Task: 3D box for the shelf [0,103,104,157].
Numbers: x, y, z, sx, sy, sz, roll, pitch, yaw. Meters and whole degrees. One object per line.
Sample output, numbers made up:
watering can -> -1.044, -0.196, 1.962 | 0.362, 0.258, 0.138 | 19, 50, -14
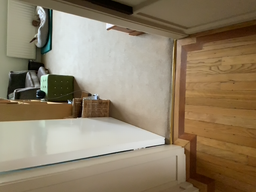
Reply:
shelf -> -1.180, 0.310, 2.640 | 1.550, 1.090, 0.380 | 1, 90, 52
